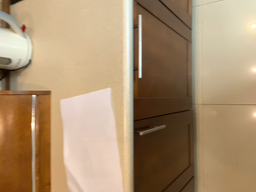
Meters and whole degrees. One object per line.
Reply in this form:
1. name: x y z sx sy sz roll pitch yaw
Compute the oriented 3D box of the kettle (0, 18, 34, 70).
1. kettle: -0.470 -0.180 0.740 0.150 0.210 0.140 -3 89 32
